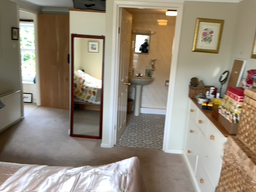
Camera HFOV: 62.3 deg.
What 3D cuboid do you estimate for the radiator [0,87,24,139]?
[{"bbox_3d":[-1.980,0.300,3.230,0.150,0.650,1.100,5,14,3],"label":"radiator"}]

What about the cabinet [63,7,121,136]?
[{"bbox_3d":[-0.590,-0.490,3.980,0.640,1.930,1.560,5,14,4],"label":"cabinet"}]
